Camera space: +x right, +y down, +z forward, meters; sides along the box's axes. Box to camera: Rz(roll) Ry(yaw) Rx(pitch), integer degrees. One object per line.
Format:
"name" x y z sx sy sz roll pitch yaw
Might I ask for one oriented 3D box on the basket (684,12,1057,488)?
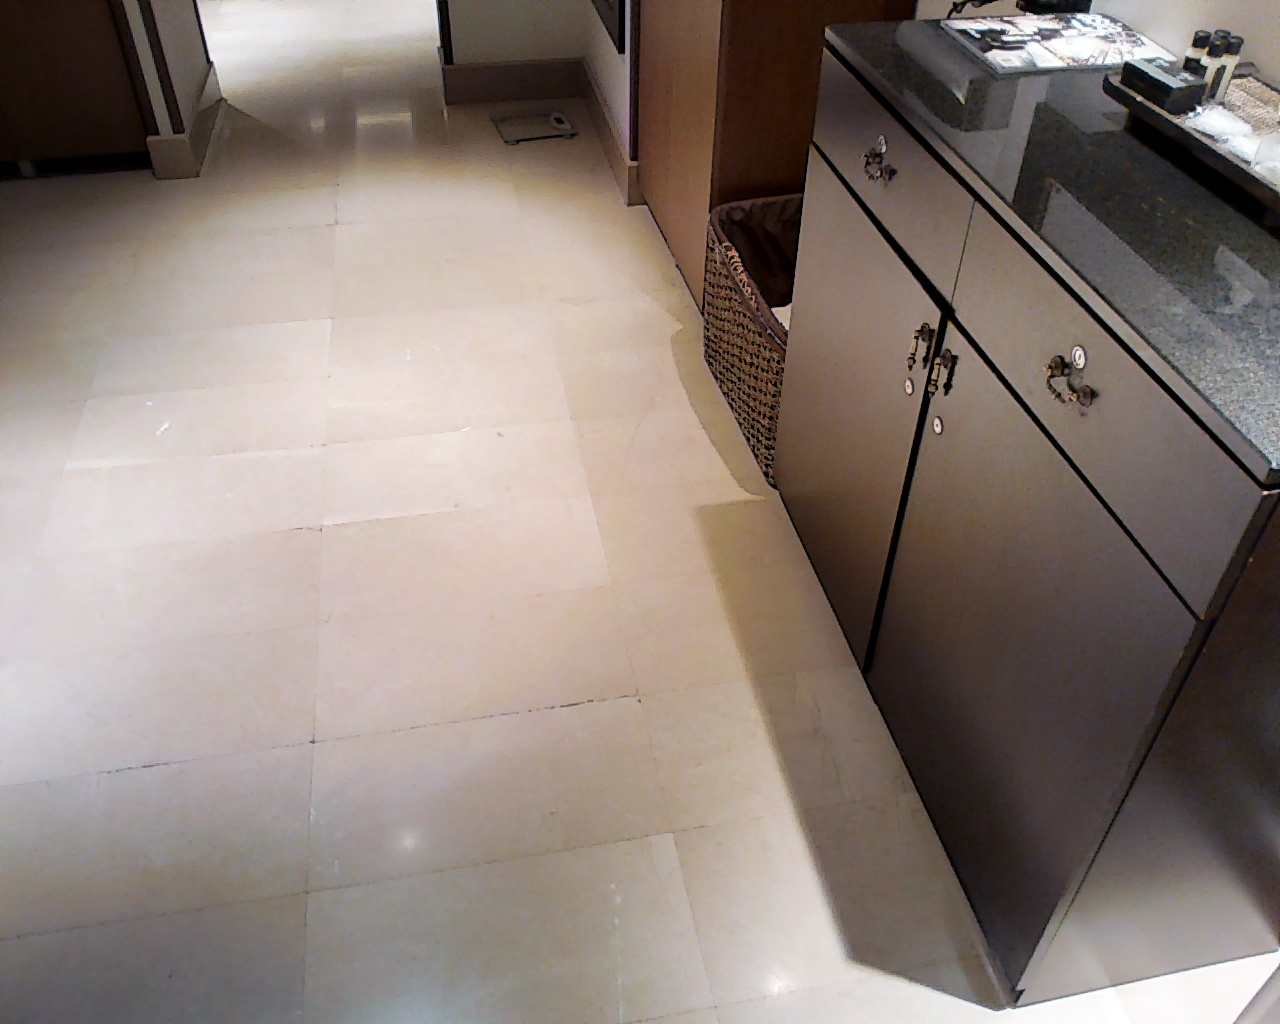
"basket" 0.460 -0.620 2.530 0.530 0.830 0.670 -8 42 -10
